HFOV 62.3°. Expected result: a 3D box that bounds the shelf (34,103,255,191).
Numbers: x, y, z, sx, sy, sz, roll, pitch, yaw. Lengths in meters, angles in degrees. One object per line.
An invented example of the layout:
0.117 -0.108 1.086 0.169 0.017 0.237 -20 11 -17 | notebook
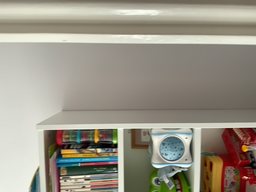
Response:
0.700 0.270 0.860 0.280 2.010 0.430 -107 18 -85 | shelf
